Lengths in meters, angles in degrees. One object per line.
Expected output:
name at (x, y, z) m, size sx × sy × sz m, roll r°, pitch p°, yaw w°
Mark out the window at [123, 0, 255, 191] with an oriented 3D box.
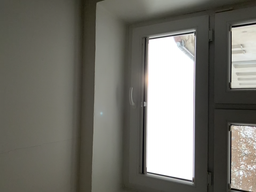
window at (0.750, 0.030, 1.040) m, size 0.120 × 1.740 × 1.120 m, roll -2°, pitch -87°, yaw -60°
